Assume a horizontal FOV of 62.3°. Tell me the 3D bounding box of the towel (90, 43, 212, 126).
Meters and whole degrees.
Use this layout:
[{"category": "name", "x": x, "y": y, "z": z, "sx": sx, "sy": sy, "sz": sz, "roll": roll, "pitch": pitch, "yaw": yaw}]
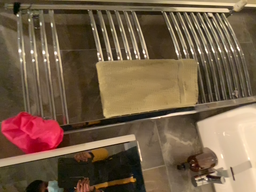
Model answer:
[{"category": "towel", "x": 0.100, "y": -0.060, "z": 0.980, "sx": 0.160, "sy": 0.490, "sz": 0.310, "roll": 141, "pitch": 120, "yaw": -68}]
